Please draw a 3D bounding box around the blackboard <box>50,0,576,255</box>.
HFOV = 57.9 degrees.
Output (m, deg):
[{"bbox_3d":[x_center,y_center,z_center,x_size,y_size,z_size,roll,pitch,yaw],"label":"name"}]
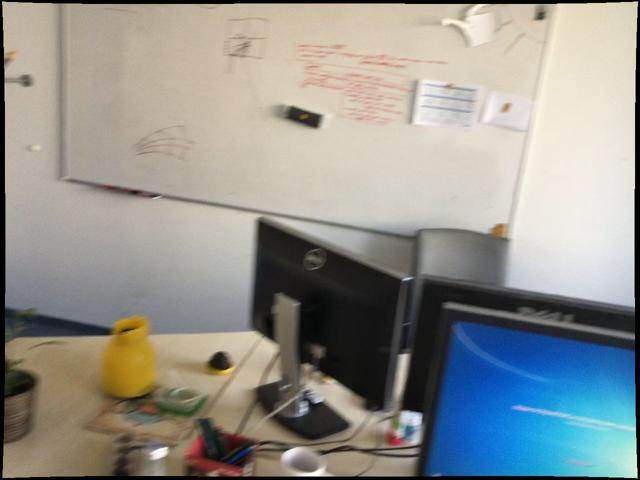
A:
[{"bbox_3d":[-0.170,-0.761,2.840,2.488,1.311,0.120,9,17,10],"label":"blackboard"}]
